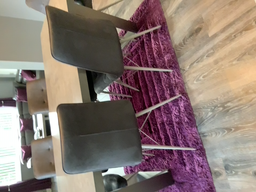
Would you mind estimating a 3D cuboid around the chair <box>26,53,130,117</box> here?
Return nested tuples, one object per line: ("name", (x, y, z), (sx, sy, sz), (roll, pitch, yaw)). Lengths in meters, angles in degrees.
("chair", (-0.540, -0.100, 2.240), (0.530, 0.900, 0.440), (-36, 62, 54))

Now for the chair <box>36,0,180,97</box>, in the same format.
("chair", (-0.170, -0.310, 1.620), (0.550, 0.890, 0.420), (-38, 60, 53))

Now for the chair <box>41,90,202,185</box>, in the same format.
("chair", (-0.050, 0.260, 1.450), (0.490, 0.910, 0.420), (-38, 60, 53))
